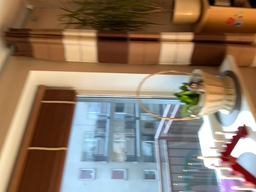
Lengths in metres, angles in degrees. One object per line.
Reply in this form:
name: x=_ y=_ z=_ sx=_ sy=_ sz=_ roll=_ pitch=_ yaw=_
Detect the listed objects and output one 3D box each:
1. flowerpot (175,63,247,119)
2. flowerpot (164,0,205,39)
flowerpot: x=0.510 y=-0.030 z=1.370 sx=0.240 sy=0.320 sz=0.260 roll=95 pitch=175 yaw=-52
flowerpot: x=0.420 y=-0.680 z=1.660 sx=0.290 sy=0.190 sz=0.340 roll=96 pitch=175 yaw=-56
